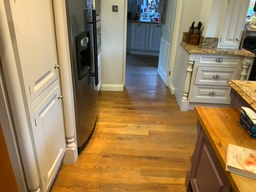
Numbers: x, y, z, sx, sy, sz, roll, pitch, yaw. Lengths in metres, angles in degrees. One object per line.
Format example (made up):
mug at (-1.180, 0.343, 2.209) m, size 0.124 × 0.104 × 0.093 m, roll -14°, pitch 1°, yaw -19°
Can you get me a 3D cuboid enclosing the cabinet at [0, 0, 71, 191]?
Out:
cabinet at (-0.680, -0.230, 1.340) m, size 0.280 × 2.210 × 0.640 m, roll 3°, pitch 26°, yaw 2°
